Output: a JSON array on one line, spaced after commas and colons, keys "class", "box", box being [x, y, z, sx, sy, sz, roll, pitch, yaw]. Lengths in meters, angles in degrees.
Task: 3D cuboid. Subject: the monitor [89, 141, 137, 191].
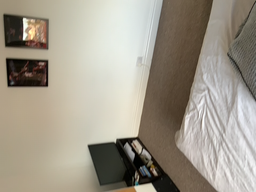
[{"class": "monitor", "box": [-0.240, 0.950, 3.020, 0.790, 0.450, 0.060, -126, 42, -52]}]
